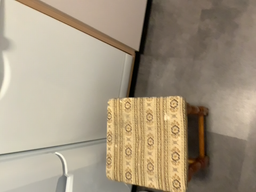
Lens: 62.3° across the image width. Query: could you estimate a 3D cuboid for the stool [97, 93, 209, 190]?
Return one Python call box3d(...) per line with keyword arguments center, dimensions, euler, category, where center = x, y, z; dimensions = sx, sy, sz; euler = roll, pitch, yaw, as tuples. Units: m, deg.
box3d(center=(0.140, 0.160, 0.940), dimensions=(0.330, 0.460, 0.300), euler=(-2, 85, 30), category="stool")
